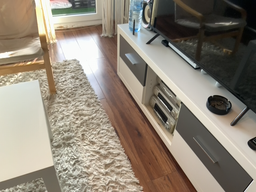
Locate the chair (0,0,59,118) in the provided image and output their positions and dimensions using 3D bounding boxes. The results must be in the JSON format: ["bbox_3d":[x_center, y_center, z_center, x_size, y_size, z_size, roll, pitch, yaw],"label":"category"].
[{"bbox_3d":[-0.950,-0.510,1.550,0.610,1.000,0.870,-11,42,-17],"label":"chair"}]
